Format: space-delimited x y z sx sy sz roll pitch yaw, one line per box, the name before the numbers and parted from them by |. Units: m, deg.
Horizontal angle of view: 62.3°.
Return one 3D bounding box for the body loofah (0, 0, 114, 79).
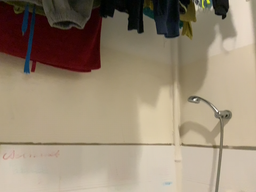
body loofah | -0.400 -0.310 0.920 0.680 0.330 0.130 9 -12 -32
